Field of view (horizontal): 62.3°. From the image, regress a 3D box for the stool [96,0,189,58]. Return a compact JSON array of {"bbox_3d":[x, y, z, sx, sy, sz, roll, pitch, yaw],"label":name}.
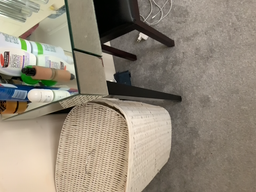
[{"bbox_3d":[0.070,-0.550,1.100,0.200,0.530,0.590,-15,81,33],"label":"stool"}]
